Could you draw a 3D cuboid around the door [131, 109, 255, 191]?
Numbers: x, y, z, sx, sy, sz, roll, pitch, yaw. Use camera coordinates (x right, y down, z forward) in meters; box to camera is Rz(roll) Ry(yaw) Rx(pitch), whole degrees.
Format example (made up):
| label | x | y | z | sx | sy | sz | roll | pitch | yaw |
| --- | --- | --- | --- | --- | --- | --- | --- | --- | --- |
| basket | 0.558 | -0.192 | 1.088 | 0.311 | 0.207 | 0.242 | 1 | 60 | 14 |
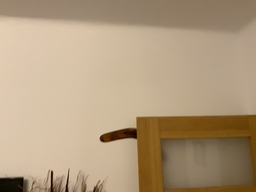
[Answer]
| label | x | y | z | sx | sy | sz | roll | pitch | yaw |
| --- | --- | --- | --- | --- | --- | --- | --- | --- | --- |
| door | 0.480 | 1.080 | 1.150 | 0.850 | 2.010 | 0.120 | -1 | -11 | -6 |
